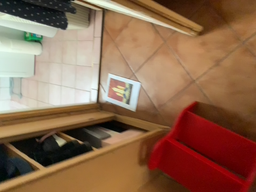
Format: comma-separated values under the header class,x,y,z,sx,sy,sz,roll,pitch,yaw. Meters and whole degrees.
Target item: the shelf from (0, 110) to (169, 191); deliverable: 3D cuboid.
class,x,y,z,sx,sy,sz,roll,pitch,yaw
shelf,-0.560,0.360,0.660,0.470,1.980,0.320,11,100,37
